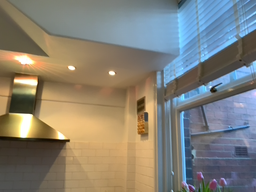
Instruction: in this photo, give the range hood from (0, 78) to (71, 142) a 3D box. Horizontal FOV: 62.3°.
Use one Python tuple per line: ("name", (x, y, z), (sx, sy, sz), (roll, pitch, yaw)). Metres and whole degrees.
("range hood", (-1.010, 0.150, 1.930), (0.890, 0.490, 0.450), (5, -15, -16))
